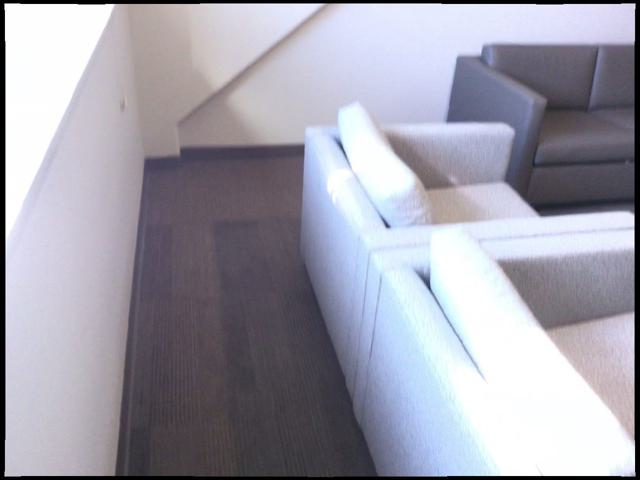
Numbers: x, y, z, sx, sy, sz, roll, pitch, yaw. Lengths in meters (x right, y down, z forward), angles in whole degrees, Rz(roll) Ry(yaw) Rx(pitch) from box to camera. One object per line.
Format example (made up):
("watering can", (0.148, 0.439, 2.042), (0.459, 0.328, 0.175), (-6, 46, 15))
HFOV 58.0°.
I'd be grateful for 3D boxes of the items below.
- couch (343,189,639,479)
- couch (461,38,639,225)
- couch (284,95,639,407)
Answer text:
("couch", (0.649, 0.421, 1.330), (0.908, 0.701, 0.930), (-3, 33, -14))
("couch", (1.806, -0.641, 3.260), (1.657, 0.721, 0.850), (-2, 33, -13))
("couch", (0.419, -0.030, 2.040), (0.938, 0.691, 0.860), (-3, 33, -13))
